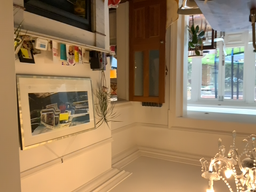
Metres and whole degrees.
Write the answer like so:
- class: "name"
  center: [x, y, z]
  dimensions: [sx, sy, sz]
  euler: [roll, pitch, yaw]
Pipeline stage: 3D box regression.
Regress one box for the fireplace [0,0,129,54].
- class: "fireplace"
  center: [-0.630, -1.150, 2.130]
  dimensions: [0.520, 1.220, 1.680]
  euler: [2, -175, 29]
